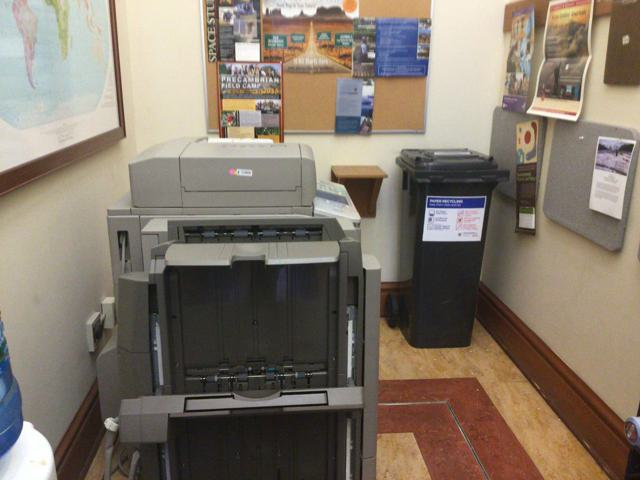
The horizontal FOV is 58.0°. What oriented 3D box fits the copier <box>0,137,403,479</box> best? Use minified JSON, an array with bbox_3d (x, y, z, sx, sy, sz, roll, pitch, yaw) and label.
[{"bbox_3d":[-0.300,0.330,1.850,0.880,1.260,1.420,-2,11,-2],"label":"copier"}]
